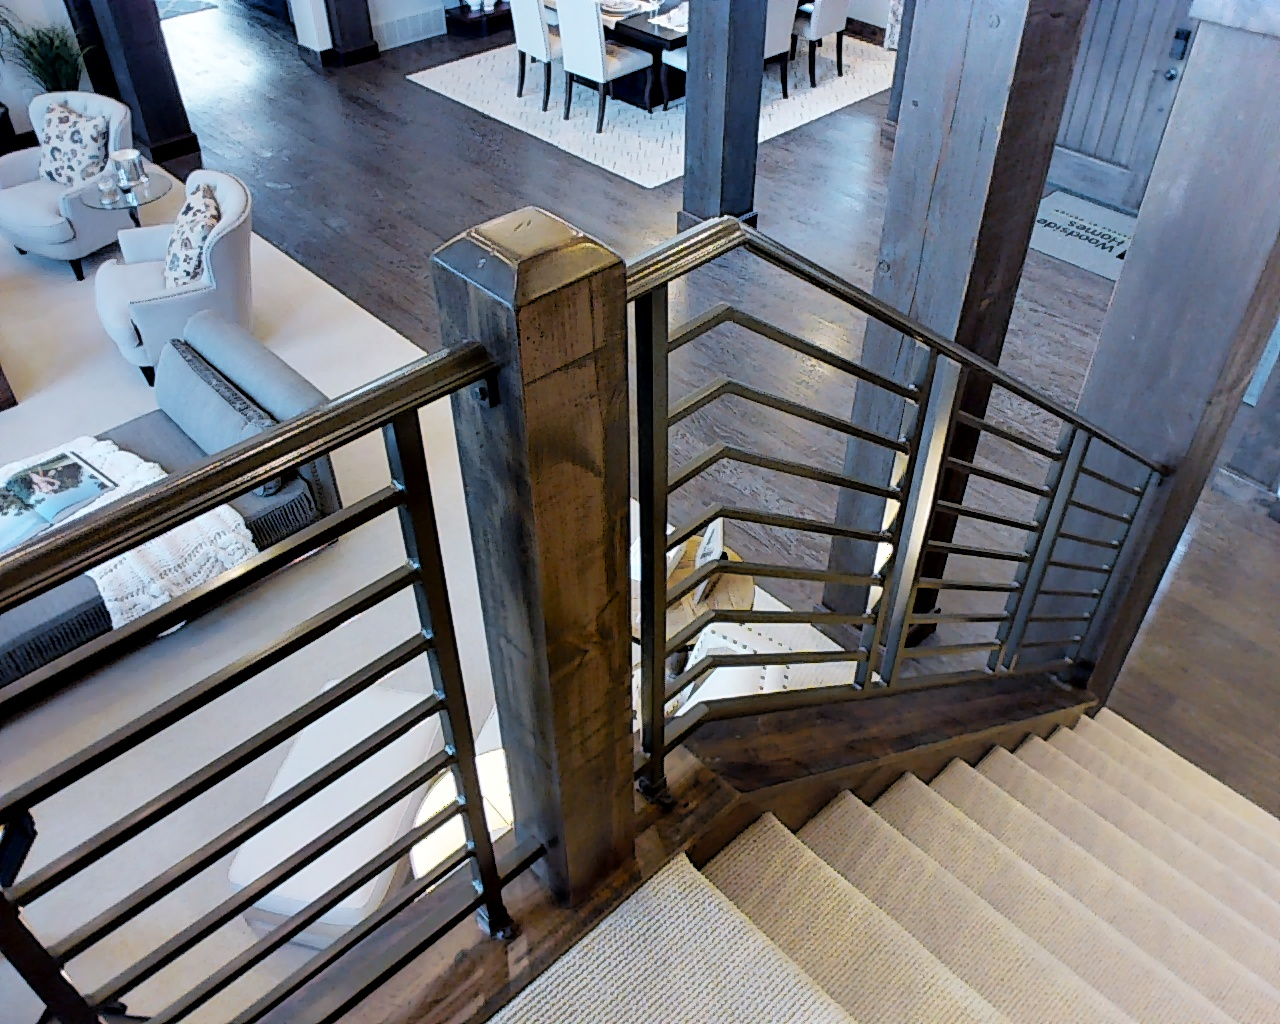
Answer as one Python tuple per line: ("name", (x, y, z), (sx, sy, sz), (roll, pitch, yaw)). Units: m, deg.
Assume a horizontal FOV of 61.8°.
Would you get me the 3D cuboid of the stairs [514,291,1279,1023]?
("stairs", (1.090, 0.900, 2.280), (2.290, 1.670, 1.260), (-32, 50, -31))
